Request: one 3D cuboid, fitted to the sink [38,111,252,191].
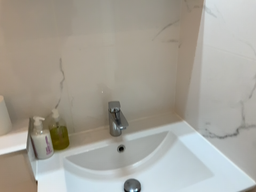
[{"bbox_3d":[0.010,0.280,0.770,0.600,0.130,0.470,-11,27,-18],"label":"sink"}]
